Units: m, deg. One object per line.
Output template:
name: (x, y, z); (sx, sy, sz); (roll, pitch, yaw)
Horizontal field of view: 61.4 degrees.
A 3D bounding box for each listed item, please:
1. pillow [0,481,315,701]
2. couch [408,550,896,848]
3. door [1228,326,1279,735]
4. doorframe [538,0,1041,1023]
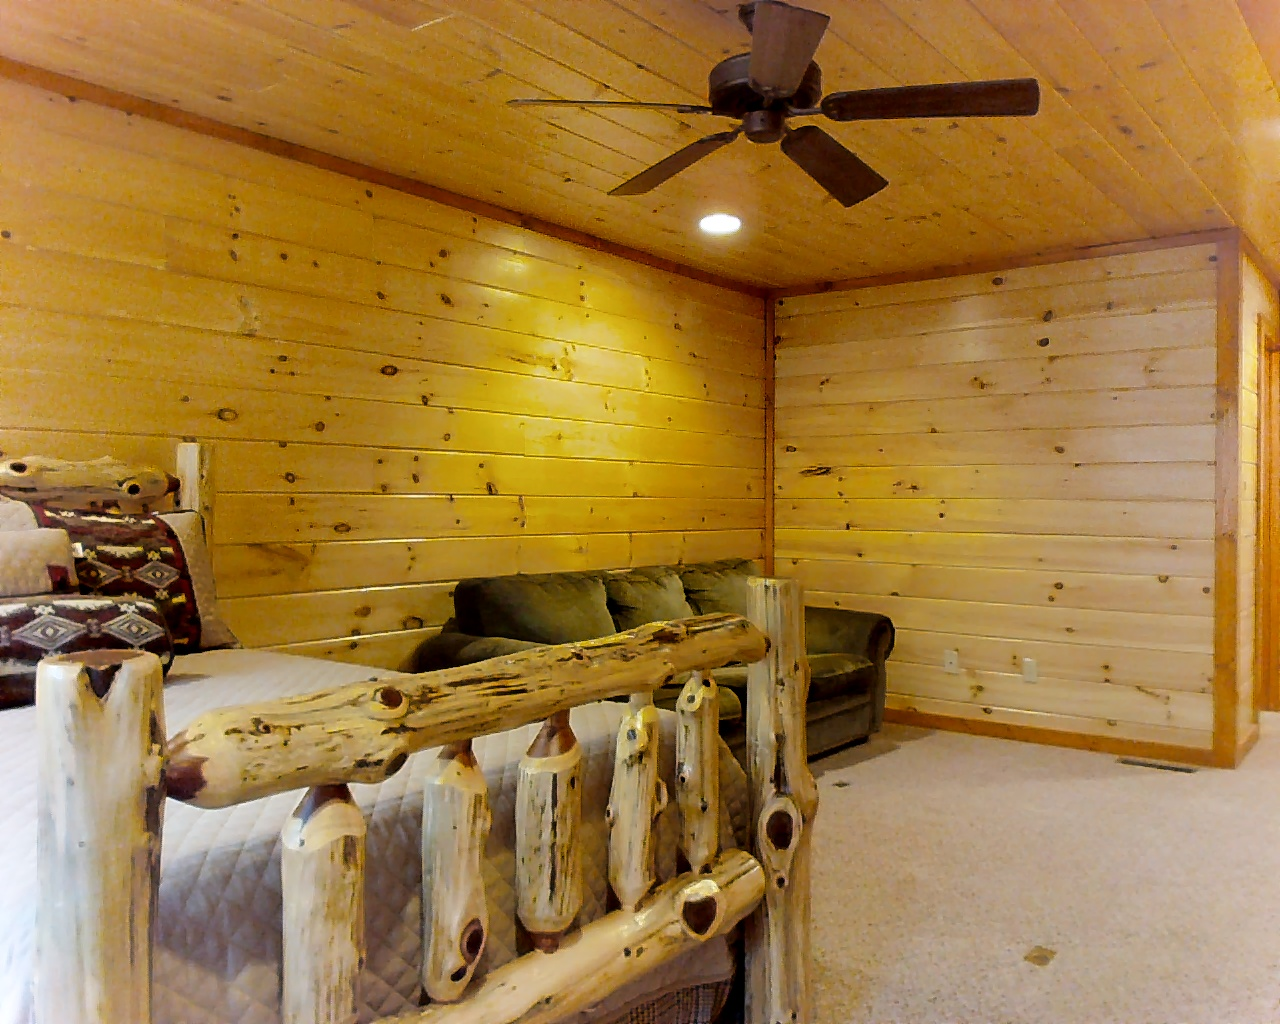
pillow: (-1.509, 0.160, 2.520); (0.700, 0.450, 1.260); (0, 1, 37)
couch: (0.190, 0.660, 4.750); (0.990, 0.870, 2.270); (0, 1, 37)
door: (3.279, 0.090, 5.710); (0.160, 2.031, 0.790); (0, 1, 37)
doorframe: (0.220, 0.110, 1.880); (0.880, 2.121, 0.200); (0, 1, 37)
